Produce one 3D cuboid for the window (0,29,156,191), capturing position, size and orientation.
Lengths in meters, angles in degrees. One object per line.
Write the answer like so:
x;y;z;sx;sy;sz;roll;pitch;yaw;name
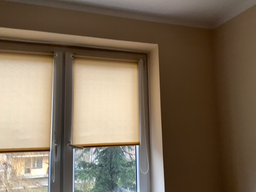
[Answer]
-0.520;0.700;1.640;1.530;2.320;0.220;2;-7;-19;window
